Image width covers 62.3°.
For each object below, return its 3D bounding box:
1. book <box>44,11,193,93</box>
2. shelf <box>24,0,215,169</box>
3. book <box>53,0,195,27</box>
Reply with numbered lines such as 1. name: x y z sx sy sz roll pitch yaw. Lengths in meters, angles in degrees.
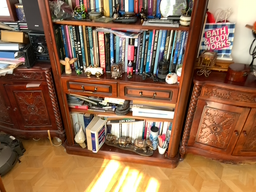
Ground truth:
1. book: -0.040 -0.330 1.470 0.860 0.360 0.410 7 35 8
2. shelf: -0.050 -0.410 1.420 1.020 2.070 0.410 6 35 8
3. book: -0.020 -0.640 1.330 0.830 0.280 0.280 6 35 8
